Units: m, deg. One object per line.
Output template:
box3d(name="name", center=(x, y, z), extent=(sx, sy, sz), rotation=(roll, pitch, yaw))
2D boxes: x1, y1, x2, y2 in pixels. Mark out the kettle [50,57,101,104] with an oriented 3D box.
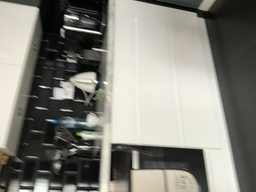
box3d(name="kettle", center=(-0.440, -0.130, 1.820), extent=(0.170, 0.380, 0.320), rotation=(121, 152, -61))
